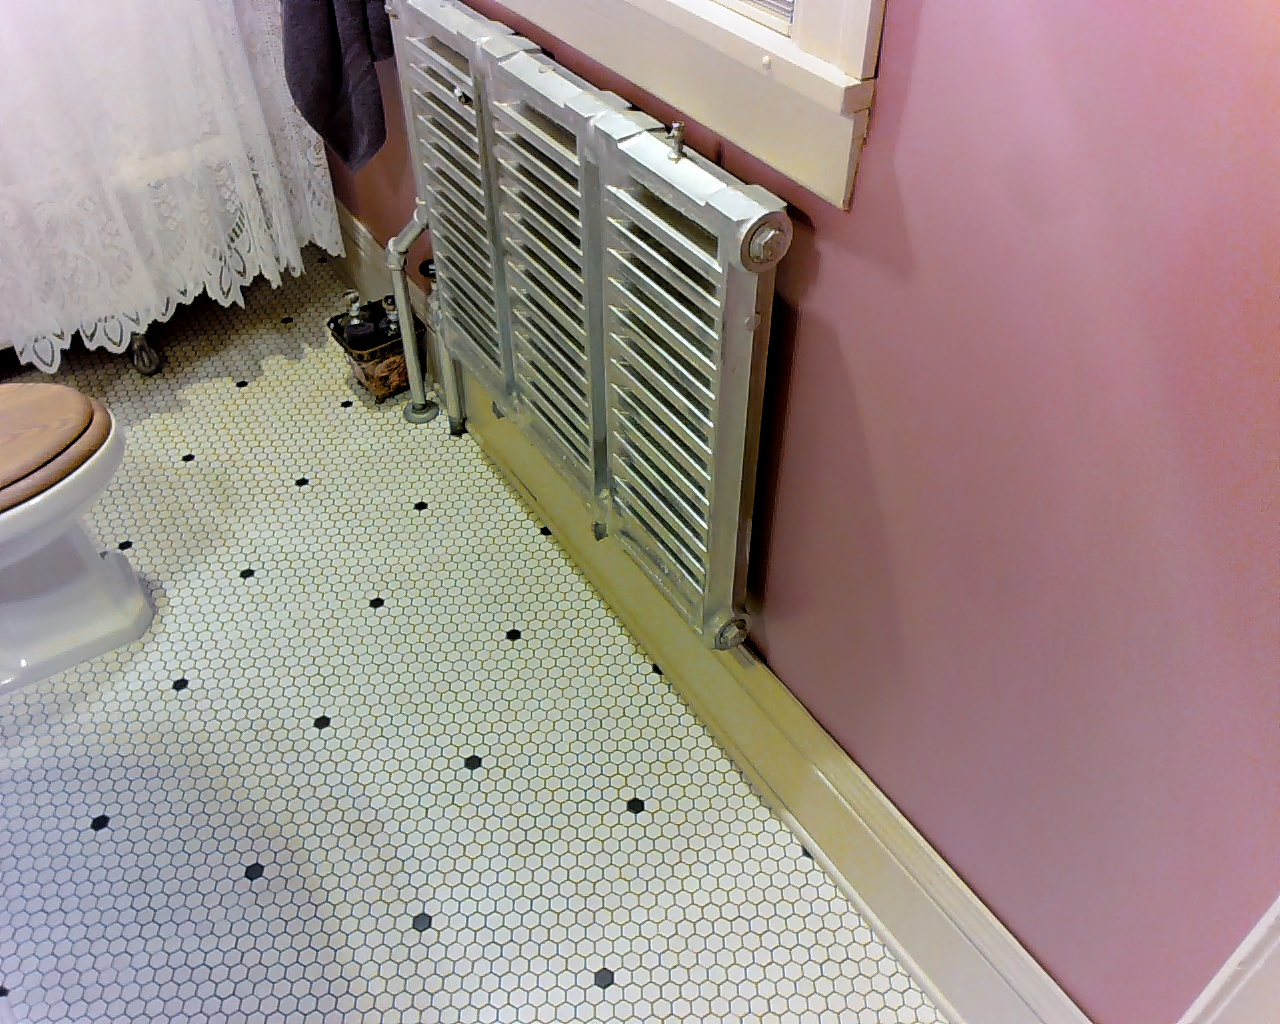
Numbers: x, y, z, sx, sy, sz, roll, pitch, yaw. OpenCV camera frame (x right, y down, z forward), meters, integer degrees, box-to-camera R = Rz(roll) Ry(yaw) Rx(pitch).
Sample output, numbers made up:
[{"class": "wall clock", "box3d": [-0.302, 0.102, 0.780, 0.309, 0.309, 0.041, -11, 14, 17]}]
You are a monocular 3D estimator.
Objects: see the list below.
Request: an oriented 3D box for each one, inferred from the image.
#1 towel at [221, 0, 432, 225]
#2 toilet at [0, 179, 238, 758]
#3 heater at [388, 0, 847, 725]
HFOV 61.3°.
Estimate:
[{"class": "towel", "box3d": [-0.660, -1.140, 2.060, 0.260, 1.040, 0.400, -22, 47, -23]}, {"class": "toilet", "box3d": [-1.240, -0.010, 1.830, 0.790, 0.790, 0.500, -21, 46, -22]}, {"class": "heater", "box3d": [-0.110, -0.320, 1.820, 0.110, 0.880, 1.110, -22, 47, -23]}]
